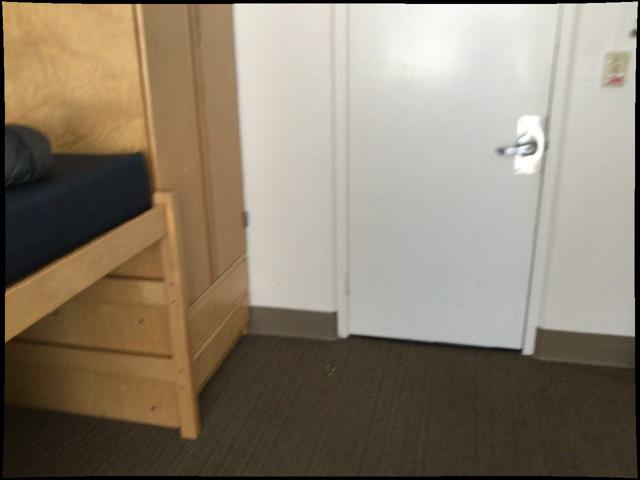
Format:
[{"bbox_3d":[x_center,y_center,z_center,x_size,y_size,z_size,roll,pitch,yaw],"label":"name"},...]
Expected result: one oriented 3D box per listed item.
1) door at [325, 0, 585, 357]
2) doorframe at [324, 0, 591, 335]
[{"bbox_3d":[0.499,-0.480,2.330,0.939,2.012,0.100,3,20,13],"label":"door"},{"bbox_3d":[0.509,-0.561,2.320,0.979,1.992,0.060,3,20,13],"label":"doorframe"}]
